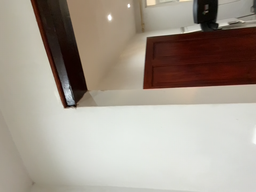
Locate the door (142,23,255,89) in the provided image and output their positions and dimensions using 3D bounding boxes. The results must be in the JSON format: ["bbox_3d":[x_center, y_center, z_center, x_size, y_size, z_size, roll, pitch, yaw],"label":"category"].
[{"bbox_3d":[1.110,-0.410,1.980,0.060,1.930,0.690,69,-157,-55],"label":"door"}]
